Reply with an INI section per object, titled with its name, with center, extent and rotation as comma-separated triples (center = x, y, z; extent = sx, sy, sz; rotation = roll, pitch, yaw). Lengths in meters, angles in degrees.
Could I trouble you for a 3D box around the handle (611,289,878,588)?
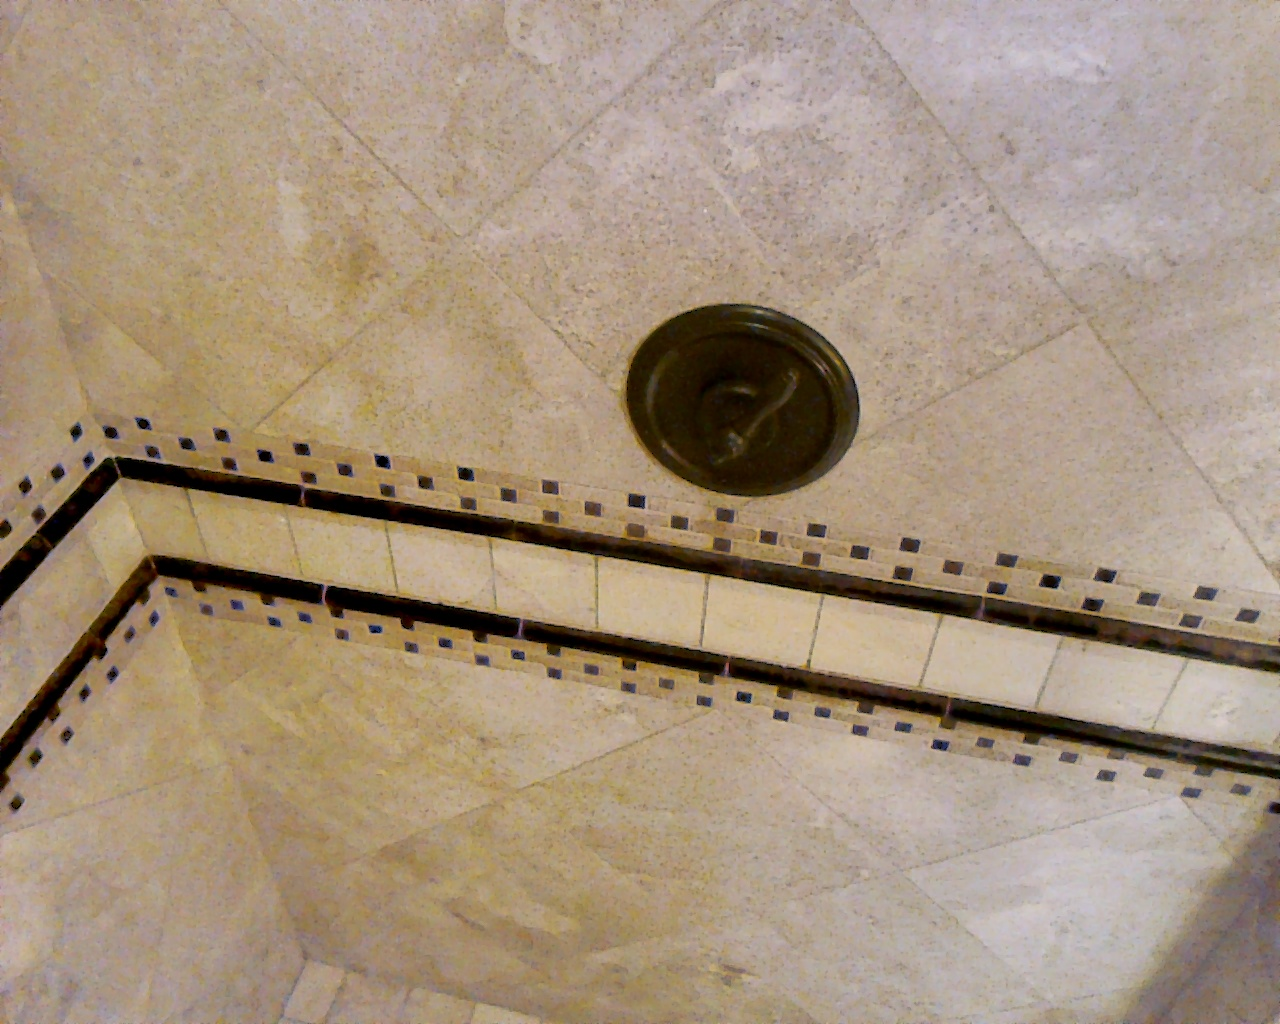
[handle]
center = 0.070, -0.050, 0.780
extent = 0.170, 0.190, 0.070
rotation = 9, 43, 9
